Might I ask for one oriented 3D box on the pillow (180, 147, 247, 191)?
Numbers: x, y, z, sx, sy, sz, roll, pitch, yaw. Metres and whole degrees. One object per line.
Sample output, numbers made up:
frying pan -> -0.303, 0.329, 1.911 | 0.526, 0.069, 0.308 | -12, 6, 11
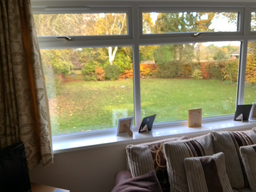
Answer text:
pillow -> 0.670, 0.630, 1.710 | 0.390, 0.380, 0.170 | -5, 35, -14
